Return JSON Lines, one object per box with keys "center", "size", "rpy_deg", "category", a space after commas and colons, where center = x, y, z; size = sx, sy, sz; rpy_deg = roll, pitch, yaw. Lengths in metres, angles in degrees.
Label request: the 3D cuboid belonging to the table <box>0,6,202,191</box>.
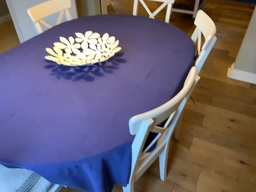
{"center": [-0.220, 0.030, 1.550], "size": [1.120, 0.750, 1.520], "rpy_deg": [15, 43, 17], "category": "table"}
